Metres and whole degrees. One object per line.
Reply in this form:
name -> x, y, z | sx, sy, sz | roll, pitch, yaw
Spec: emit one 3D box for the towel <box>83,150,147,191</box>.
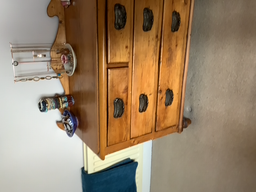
towel -> -0.100, 0.730, 1.780 | 0.160, 0.510, 0.380 | 25, 118, 51
